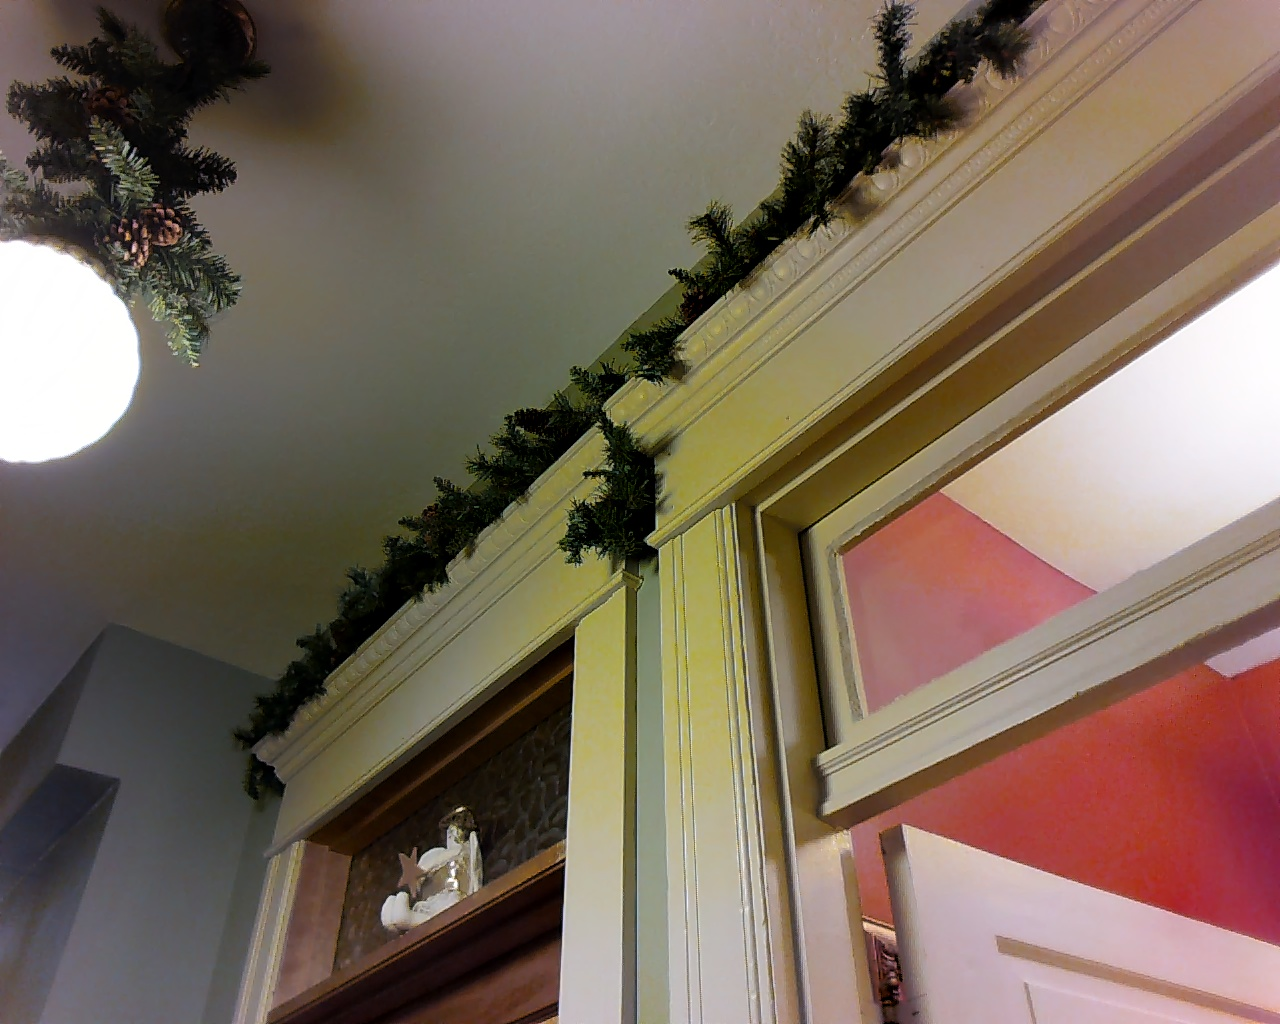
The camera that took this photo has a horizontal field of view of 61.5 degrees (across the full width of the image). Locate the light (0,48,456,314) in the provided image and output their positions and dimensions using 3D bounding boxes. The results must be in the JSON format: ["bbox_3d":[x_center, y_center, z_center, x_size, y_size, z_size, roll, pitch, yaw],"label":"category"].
[{"bbox_3d":[-0.580,-0.370,1.220,0.190,0.180,0.800,-39,-9,35],"label":"light"}]
